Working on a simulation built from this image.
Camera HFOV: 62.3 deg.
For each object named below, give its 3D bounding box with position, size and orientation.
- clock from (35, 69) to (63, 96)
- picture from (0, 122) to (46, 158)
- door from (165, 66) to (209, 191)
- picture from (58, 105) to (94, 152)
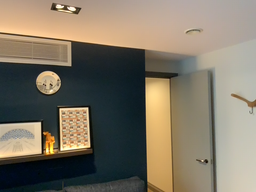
[{"bbox_3d":[-0.770,-0.130,2.080,0.250,0.250,0.020,1,-3,-26],"label":"clock"},{"bbox_3d":[-0.960,0.390,1.920,0.400,0.290,0.030,1,-3,-27],"label":"picture"},{"bbox_3d":[0.800,0.860,3.000,0.040,2.450,0.810,1,-3,-27],"label":"door"},{"bbox_3d":[-0.520,0.320,2.140,0.330,0.440,0.030,-3,2,-27],"label":"picture"}]
